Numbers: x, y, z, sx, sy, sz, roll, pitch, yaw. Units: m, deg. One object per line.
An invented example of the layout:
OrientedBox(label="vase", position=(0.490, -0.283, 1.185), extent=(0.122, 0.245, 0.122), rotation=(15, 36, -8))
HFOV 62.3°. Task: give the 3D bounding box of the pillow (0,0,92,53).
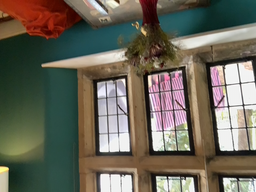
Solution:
OrientedBox(label="pillow", position=(-0.840, -0.700, 1.630), extent=(0.840, 0.410, 0.750), rotation=(-5, 172, 17))

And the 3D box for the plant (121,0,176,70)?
OrientedBox(label="plant", position=(0.130, -0.410, 1.320), extent=(0.280, 0.430, 0.180), rotation=(-5, 172, 17))
